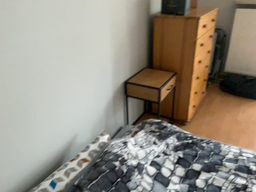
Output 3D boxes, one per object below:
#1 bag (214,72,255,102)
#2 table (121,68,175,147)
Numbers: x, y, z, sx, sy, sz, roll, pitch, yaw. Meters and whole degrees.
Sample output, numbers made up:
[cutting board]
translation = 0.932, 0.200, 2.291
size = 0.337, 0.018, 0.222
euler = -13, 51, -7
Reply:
[bag]
translation = 1.580, -0.140, 3.020
size = 0.590, 0.190, 0.400
euler = 12, 31, 24
[table]
translation = 0.210, 0.100, 2.180
size = 0.370, 0.630, 0.420
euler = 14, 32, 26
